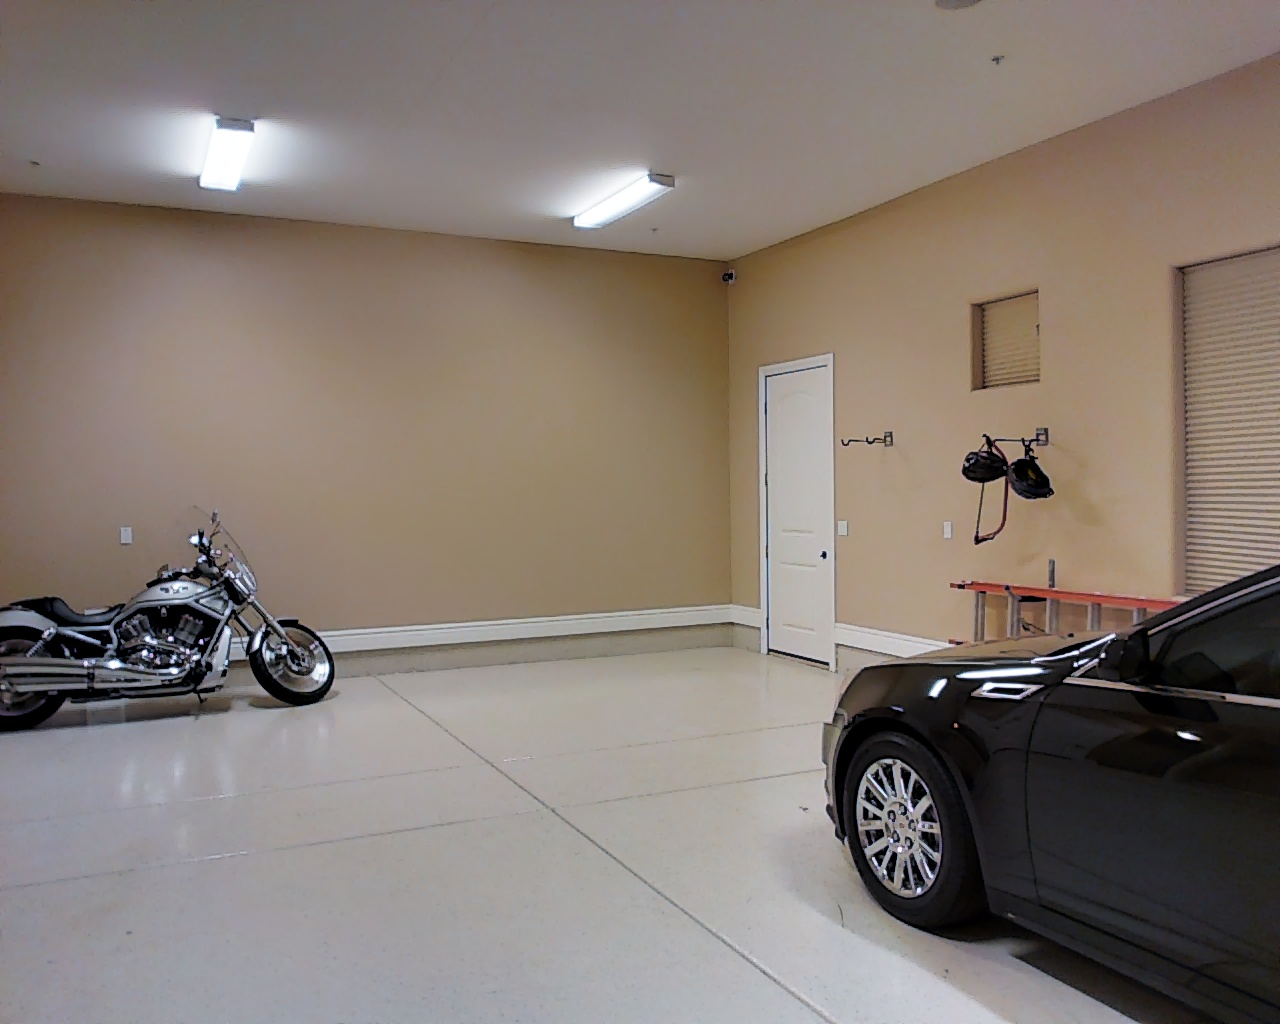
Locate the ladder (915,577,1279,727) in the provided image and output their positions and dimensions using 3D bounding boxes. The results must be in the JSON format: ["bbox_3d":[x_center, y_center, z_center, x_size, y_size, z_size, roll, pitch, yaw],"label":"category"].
[{"bbox_3d":[2.930,0.730,5.460,0.370,0.530,3.950,-1,1,-28],"label":"ladder"}]
